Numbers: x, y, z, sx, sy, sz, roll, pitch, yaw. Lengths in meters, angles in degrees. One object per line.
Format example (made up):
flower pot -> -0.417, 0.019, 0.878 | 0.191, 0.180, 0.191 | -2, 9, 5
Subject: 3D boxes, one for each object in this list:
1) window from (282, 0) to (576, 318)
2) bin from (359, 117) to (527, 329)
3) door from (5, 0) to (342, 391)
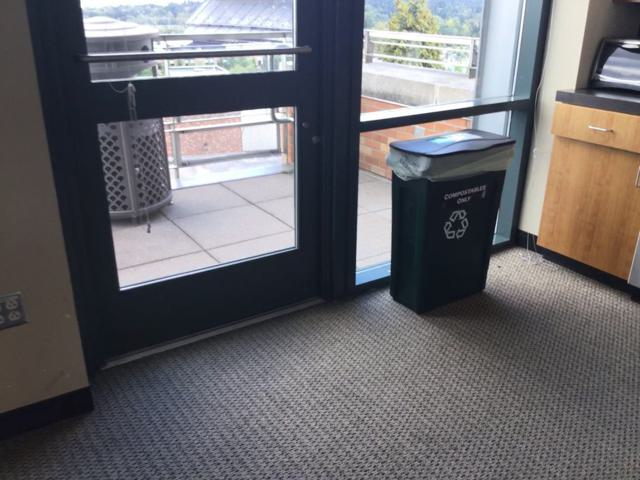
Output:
window -> 0.510, -0.980, 2.570 | 1.310, 2.470, 0.370 | -12, 23, -24
bin -> 0.530, -0.100, 2.590 | 0.610, 0.790, 0.350 | -12, 23, -24
door -> -0.470, -0.400, 2.130 | 1.050, 1.720, 0.310 | -12, 23, -24
